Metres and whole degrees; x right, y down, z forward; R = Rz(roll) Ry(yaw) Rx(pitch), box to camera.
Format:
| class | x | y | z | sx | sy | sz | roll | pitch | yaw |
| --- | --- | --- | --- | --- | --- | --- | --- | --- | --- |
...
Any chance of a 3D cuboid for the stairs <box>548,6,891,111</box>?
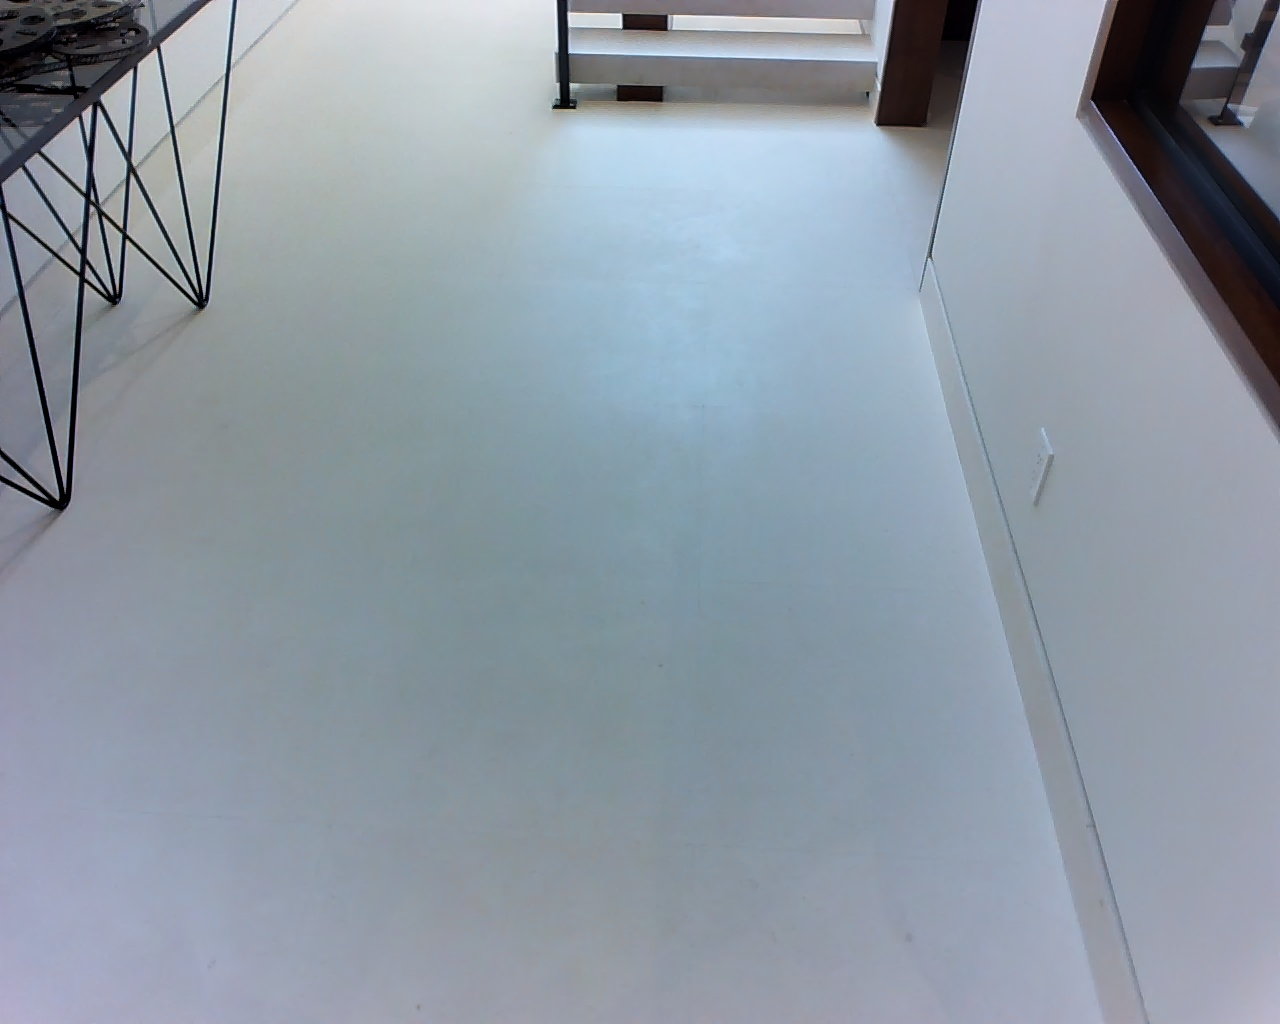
| class | x | y | z | sx | sy | sz | roll | pitch | yaw |
| --- | --- | --- | --- | --- | --- | --- | --- | --- | --- |
| stairs | 0.290 | -1.720 | 4.060 | 1.250 | 0.310 | 0.160 | 2 | 42 | 3 |
